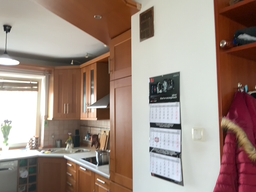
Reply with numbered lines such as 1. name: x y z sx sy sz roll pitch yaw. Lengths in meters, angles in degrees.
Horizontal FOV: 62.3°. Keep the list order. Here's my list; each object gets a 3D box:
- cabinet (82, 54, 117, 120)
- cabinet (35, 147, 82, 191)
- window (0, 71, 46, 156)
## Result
1. cabinet: -0.510 -0.120 3.710 0.330 1.040 0.640 3 -5 -35
2. cabinet: -1.200 1.410 3.760 0.520 0.890 0.680 -1 -4 9
3. window: -2.350 0.320 4.010 1.450 1.540 0.260 3 -5 -38
